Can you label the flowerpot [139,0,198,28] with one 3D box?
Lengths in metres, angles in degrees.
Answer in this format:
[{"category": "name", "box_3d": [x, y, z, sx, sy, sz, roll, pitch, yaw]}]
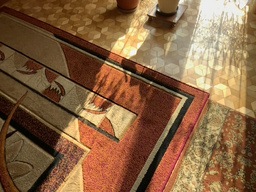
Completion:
[{"category": "flowerpot", "box_3d": [0.400, -1.020, 2.050, 0.380, 0.440, 0.440, -37, 61, -23]}]
